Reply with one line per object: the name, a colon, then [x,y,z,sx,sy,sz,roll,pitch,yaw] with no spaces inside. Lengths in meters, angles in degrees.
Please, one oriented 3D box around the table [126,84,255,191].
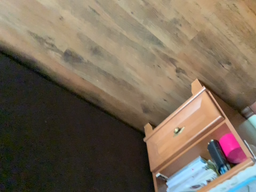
table: [0.300,0.340,1.130,0.410,0.560,0.440,34,115,-24]
